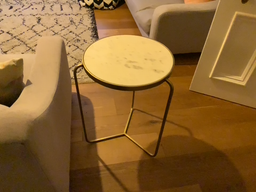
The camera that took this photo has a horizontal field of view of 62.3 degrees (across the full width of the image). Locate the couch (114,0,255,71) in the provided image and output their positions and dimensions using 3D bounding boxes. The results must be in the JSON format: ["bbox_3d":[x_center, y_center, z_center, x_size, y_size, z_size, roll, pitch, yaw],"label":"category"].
[{"bbox_3d":[0.450,-1.280,2.490,1.070,0.750,2.130,-4,45,-9],"label":"couch"}]
